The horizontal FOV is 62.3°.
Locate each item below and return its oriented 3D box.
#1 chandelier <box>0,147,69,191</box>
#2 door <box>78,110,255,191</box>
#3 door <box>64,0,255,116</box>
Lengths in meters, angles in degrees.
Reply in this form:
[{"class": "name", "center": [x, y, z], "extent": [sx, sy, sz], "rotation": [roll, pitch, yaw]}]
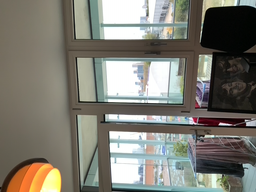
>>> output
[{"class": "chandelier", "center": [-0.590, 0.450, 1.050], "extent": [0.360, 0.450, 0.340], "rotation": [65, -154, -80]}, {"class": "door", "center": [0.660, 0.860, 2.970], "extent": [0.110, 2.590, 1.400], "rotation": [-81, -9, -64]}, {"class": "door", "center": [0.630, -0.560, 2.360], "extent": [0.100, 2.610, 1.630], "rotation": [-78, -11, -69]}]
